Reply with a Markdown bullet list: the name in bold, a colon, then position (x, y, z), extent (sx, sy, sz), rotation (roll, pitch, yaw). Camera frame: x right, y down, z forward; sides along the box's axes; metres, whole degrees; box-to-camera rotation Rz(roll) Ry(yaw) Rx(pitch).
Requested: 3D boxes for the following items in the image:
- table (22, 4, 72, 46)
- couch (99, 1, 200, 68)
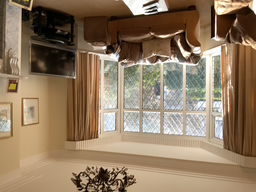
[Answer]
- **table**: position (-1.450, -1.240, 3.820), extent (0.730, 0.490, 0.450), rotation (1, 180, -41)
- **couch**: position (0.470, -1.060, 4.080), extent (1.730, 0.860, 1.080), rotation (1, 180, 18)
